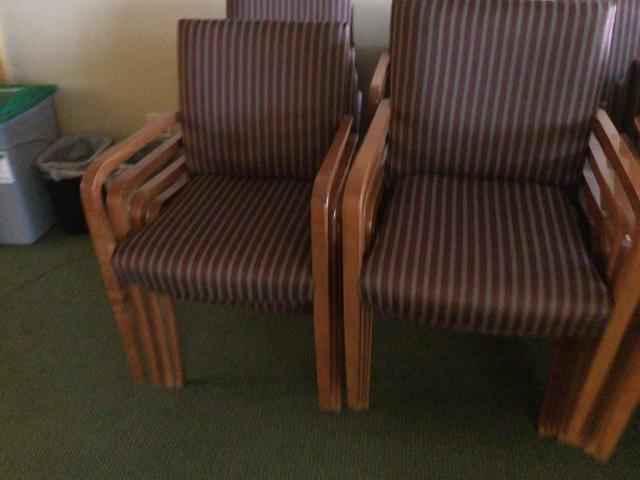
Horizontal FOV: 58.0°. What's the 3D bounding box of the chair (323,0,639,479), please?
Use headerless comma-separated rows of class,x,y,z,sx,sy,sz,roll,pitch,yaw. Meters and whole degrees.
chair,0.410,0.050,1.410,0.690,1.150,0.750,5,28,7

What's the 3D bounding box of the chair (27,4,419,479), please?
chair,-0.140,-0.030,1.640,0.730,1.090,0.780,5,28,7
